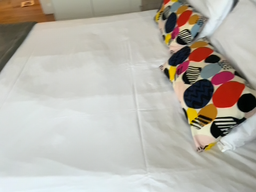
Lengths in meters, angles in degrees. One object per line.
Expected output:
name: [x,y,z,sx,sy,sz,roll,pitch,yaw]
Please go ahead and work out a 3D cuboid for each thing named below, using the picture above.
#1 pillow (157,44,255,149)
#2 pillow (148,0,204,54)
pillow: [0.290,-0.050,0.890,0.130,0.260,0.540,-33,16,8]
pillow: [0.280,-0.490,1.360,0.130,0.270,0.570,-24,24,8]
